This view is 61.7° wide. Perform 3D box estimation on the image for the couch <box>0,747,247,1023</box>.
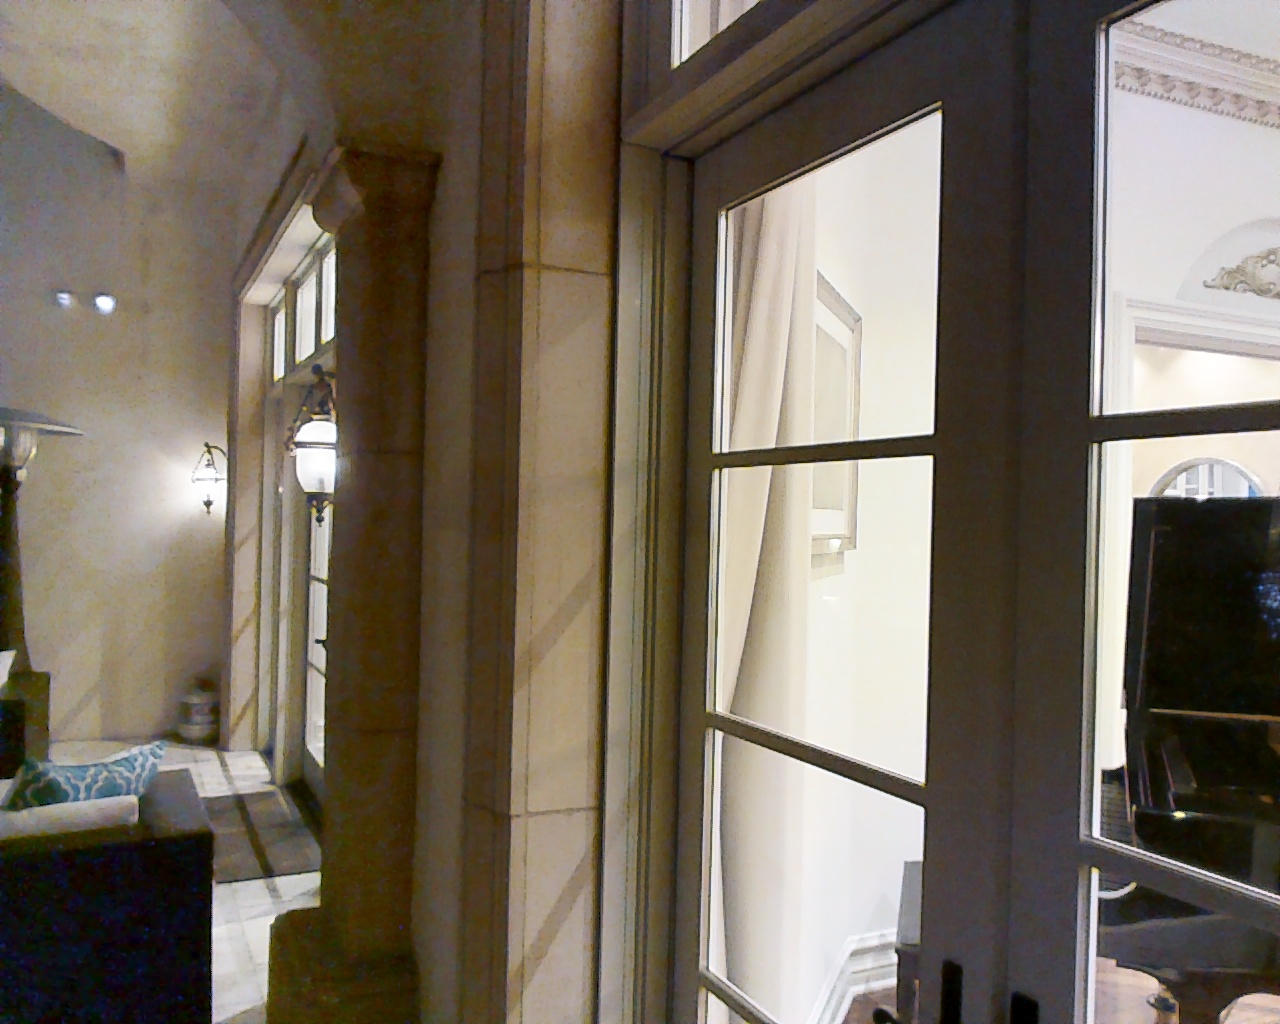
[{"bbox_3d":[-2.069,1.300,3.580,1.250,0.710,1.070,1,0,-29],"label":"couch"}]
